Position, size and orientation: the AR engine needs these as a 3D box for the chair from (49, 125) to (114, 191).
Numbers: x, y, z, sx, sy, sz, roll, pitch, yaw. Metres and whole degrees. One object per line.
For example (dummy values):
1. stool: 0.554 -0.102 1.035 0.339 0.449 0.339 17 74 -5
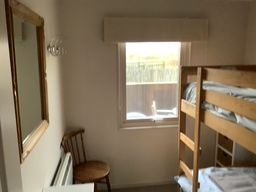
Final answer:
1. chair: -0.470 0.810 2.310 0.480 0.820 0.480 4 11 20

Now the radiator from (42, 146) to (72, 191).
1. radiator: -0.600 0.830 1.870 0.130 0.540 0.640 -2 11 -10
